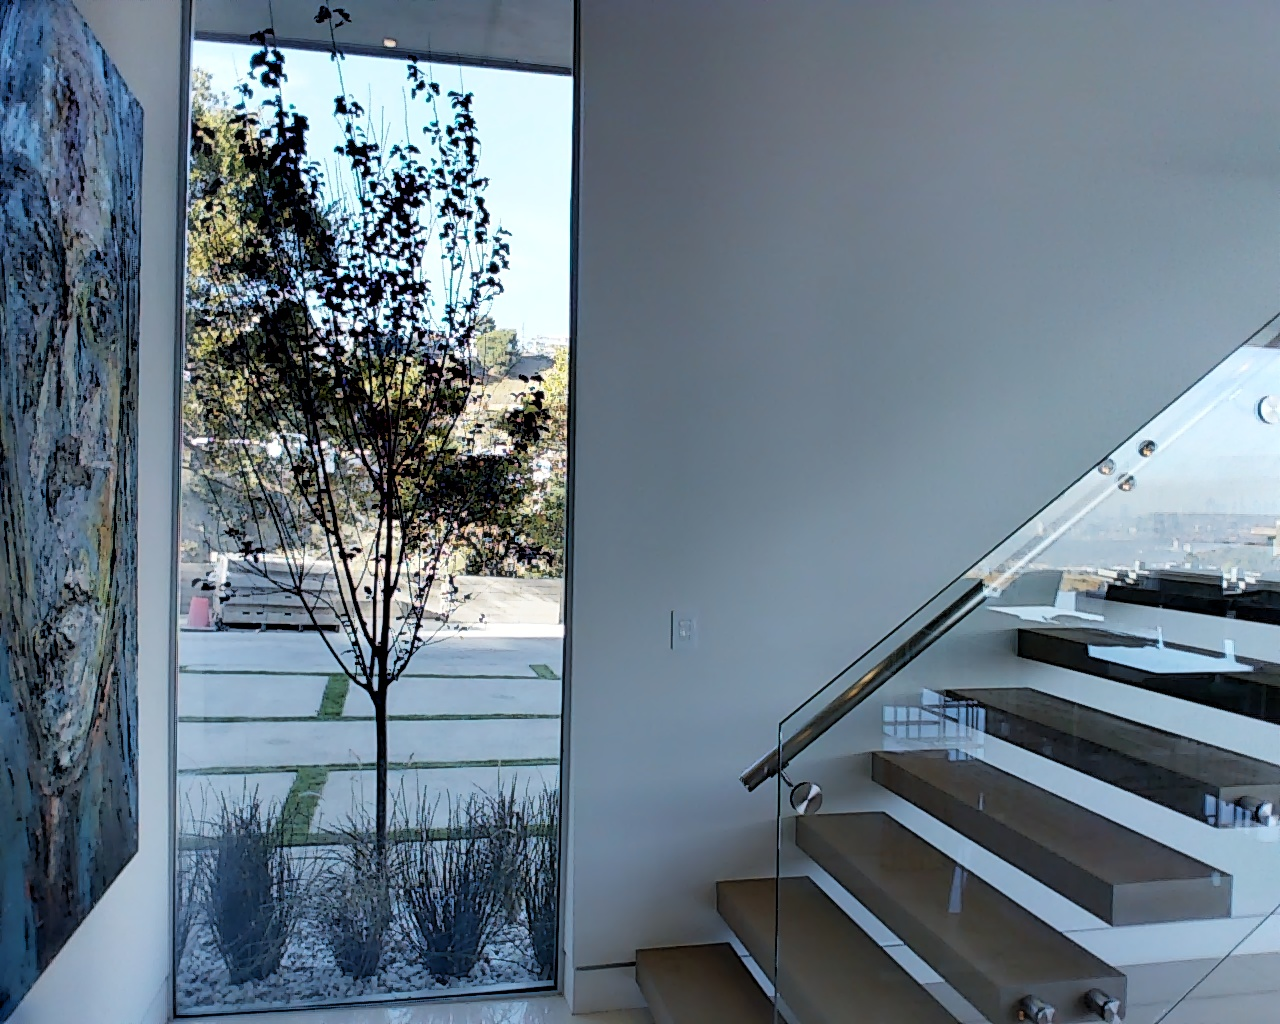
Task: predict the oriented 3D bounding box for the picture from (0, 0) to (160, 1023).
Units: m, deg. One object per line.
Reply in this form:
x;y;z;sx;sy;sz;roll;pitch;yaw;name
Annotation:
-1.080;0.050;1.930;0.080;1.690;1.420;1;0;-11;picture
